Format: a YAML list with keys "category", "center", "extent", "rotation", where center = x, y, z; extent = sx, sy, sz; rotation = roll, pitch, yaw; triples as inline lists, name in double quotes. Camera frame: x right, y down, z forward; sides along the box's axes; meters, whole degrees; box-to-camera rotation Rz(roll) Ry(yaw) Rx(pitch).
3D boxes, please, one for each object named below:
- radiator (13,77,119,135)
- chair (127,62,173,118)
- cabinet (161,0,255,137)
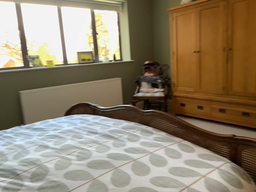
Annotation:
- category: "radiator"
  center: [-0.900, 0.090, 3.580]
  extent: [1.800, 0.620, 0.120]
  rotation: [-13, 14, -42]
- category: "chair"
  center: [0.480, -0.170, 4.290]
  extent: [0.650, 0.960, 0.890]
  rotation: [1, 11, 23]
- category: "cabinet"
  center: [1.380, -0.530, 3.360]
  extent: [0.700, 1.890, 1.560]
  rotation: [-12, 14, -40]
